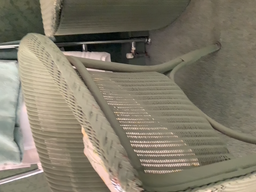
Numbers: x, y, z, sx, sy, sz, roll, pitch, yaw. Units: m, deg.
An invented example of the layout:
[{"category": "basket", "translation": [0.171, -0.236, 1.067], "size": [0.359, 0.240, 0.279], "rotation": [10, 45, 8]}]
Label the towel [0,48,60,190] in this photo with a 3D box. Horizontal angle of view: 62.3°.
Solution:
[{"category": "towel", "translation": [-0.550, 0.100, 0.900], "size": [0.180, 0.400, 0.550], "rotation": [28, 125, 57]}]

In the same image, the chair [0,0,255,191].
[{"category": "chair", "translation": [0.040, 0.120, 0.670], "size": [0.640, 0.660, 0.600], "rotation": [57, 147, 36]}]
